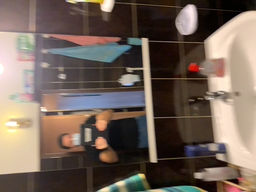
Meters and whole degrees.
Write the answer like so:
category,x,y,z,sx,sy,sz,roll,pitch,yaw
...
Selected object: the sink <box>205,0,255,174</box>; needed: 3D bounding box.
category,x,y,z,sx,sy,sz,roll,pitch,yaw
sink,0.600,-0.020,0.970,0.380,0.250,0.680,142,126,-77
